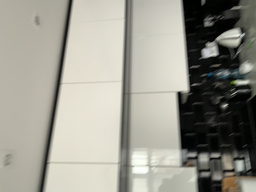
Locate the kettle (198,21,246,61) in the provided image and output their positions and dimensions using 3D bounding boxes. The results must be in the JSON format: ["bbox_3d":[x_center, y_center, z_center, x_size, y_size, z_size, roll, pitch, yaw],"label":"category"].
[{"bbox_3d":[0.930,-0.550,2.140,0.170,0.380,0.320,68,-158,-68],"label":"kettle"}]

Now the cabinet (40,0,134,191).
[{"bbox_3d":[-0.260,0.250,1.790,0.600,0.550,3.010,68,-159,-68],"label":"cabinet"}]

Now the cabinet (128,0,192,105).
[{"bbox_3d":[0.290,-0.550,2.170,0.300,0.540,1.230,68,-159,-68],"label":"cabinet"}]
